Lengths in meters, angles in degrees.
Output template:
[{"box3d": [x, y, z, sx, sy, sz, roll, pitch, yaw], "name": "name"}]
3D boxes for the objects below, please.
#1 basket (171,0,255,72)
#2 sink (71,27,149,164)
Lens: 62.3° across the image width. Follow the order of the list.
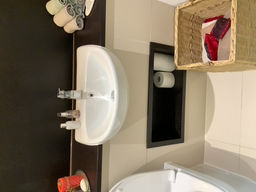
[{"box3d": [0.550, -0.340, 1.220, 0.370, 0.430, 0.370, 8, 96, 54], "name": "basket"}, {"box3d": [-0.120, -0.010, 1.110, 0.460, 0.180, 0.560, 5, 94, 54], "name": "sink"}]
